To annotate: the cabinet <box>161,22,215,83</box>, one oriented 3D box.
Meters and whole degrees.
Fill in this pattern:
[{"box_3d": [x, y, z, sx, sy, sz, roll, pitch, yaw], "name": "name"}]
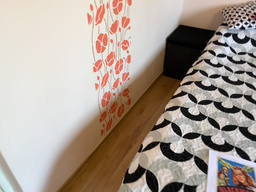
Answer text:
[{"box_3d": [0.640, -0.480, 2.280, 0.400, 0.440, 0.420, 17, 41, 20], "name": "cabinet"}]
